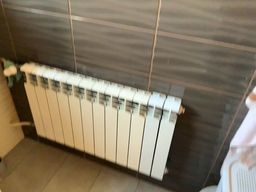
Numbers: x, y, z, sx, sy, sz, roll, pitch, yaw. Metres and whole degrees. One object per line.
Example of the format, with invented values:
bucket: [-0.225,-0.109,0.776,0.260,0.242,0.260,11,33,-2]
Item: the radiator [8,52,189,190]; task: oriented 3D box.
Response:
radiator: [-0.220,0.170,1.390,1.050,0.690,0.150,15,37,14]
